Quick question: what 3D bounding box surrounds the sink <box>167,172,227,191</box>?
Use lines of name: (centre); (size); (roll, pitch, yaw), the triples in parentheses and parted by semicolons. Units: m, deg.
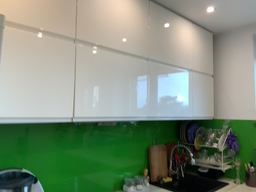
sink: (0.650, 0.910, 2.020); (0.360, 0.200, 0.420); (4, -5, -42)
